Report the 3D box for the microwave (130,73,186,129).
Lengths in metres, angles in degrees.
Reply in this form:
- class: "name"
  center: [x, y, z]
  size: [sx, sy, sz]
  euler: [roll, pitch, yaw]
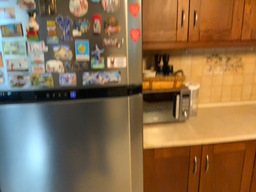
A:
- class: "microwave"
  center: [0.220, 0.020, 1.690]
  size: [0.360, 0.350, 0.320]
  euler: [-3, 16, -6]
